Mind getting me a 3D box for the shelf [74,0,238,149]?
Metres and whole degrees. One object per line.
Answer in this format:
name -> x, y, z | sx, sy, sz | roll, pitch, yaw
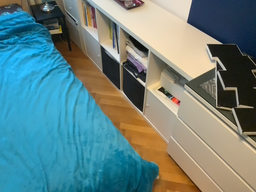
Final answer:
shelf -> 0.070, -0.370, 1.880 | 0.410, 0.770, 1.450 | -27, 55, -24
